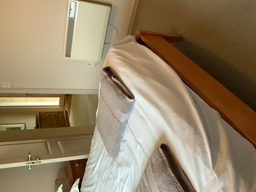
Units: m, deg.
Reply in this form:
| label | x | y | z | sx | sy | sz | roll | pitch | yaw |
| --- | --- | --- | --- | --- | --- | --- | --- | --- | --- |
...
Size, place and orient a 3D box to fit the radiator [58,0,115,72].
| label | x | y | z | sx | sy | sz | roll | pitch | yaw |
| --- | --- | --- | --- | --- | --- | --- | --- | --- | --- |
| radiator | -0.470 | -0.630 | 2.310 | 0.490 | 0.720 | 0.150 | 0 | 36 | -26 |

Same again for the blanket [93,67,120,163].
| label | x | y | z | sx | sy | sz | roll | pitch | yaw |
| --- | --- | --- | --- | --- | --- | --- | --- | --- | --- |
| blanket | -0.130 | 0.080 | 1.310 | 0.100 | 0.480 | 0.450 | 4 | 11 | -5 |
